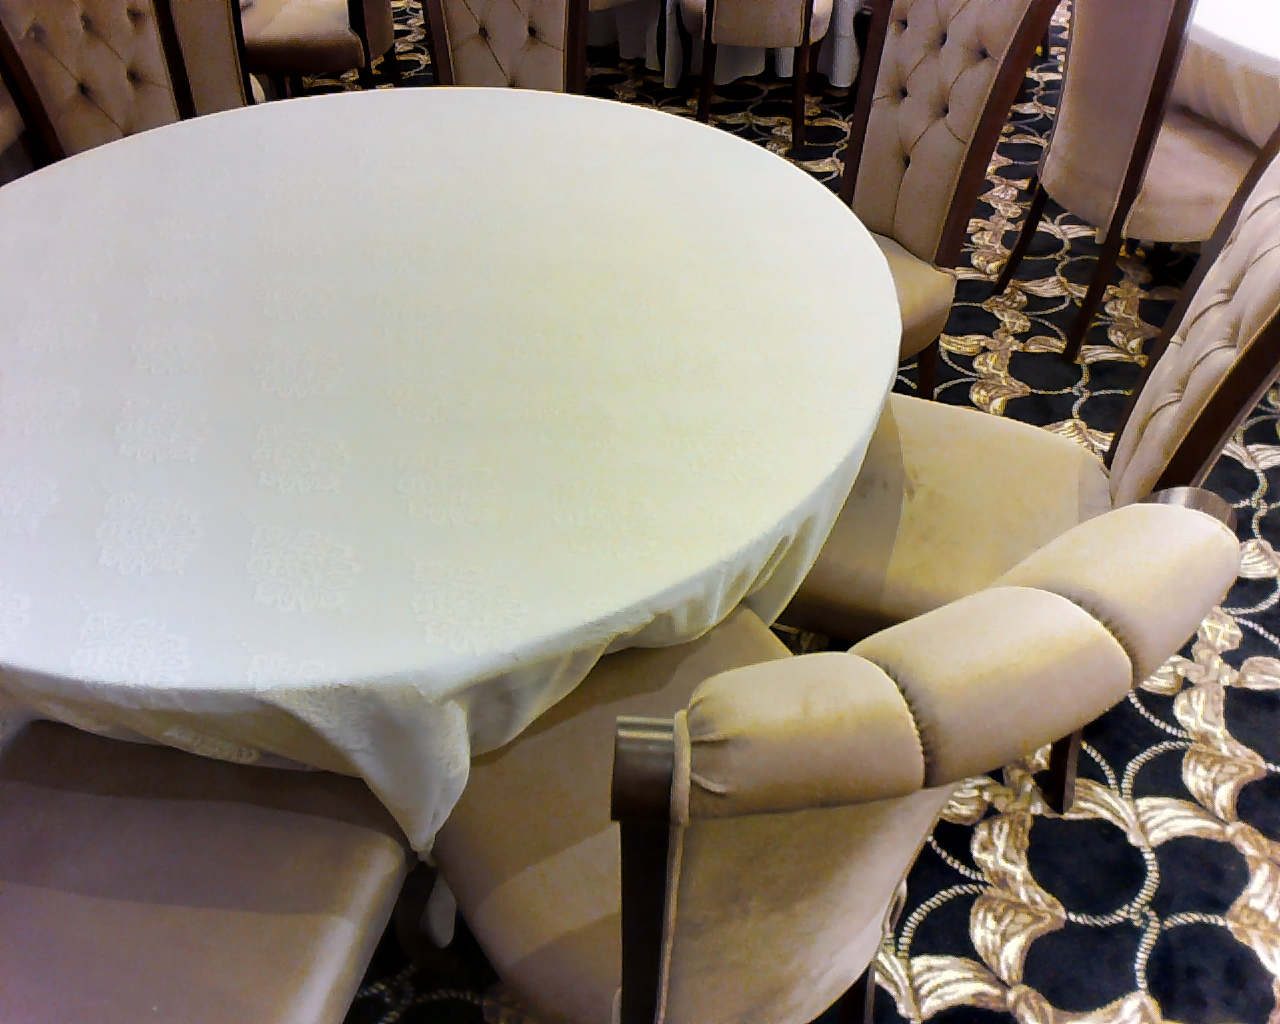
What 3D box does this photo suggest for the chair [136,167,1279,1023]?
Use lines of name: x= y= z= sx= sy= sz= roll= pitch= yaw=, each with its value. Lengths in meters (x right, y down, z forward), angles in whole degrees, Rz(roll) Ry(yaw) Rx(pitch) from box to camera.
chair: x=0.080 y=0.360 z=1.140 sx=0.720 sy=1.100 sz=0.660 roll=-22 pitch=45 yaw=-22

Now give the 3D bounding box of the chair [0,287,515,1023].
chair: x=-0.580 y=0.450 z=1.050 sx=0.630 sy=1.090 sz=0.720 roll=8 pitch=42 yaw=10

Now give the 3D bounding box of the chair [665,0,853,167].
chair: x=0.410 y=-1.840 z=3.640 sx=0.590 sy=1.090 sz=0.640 roll=4 pitch=41 yaw=5

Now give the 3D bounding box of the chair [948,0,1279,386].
chair: x=1.250 y=-0.960 z=2.630 sx=0.590 sy=1.080 sz=0.620 roll=-7 pitch=42 yaw=-7

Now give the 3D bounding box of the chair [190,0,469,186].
chair: x=-1.020 y=-1.730 z=3.510 sx=0.640 sy=1.070 sz=0.610 roll=7 pitch=42 yaw=9

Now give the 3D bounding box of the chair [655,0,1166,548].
chair: x=0.480 y=-0.620 z=2.250 sx=0.670 sy=1.080 sz=0.620 roll=-22 pitch=46 yaw=-23
